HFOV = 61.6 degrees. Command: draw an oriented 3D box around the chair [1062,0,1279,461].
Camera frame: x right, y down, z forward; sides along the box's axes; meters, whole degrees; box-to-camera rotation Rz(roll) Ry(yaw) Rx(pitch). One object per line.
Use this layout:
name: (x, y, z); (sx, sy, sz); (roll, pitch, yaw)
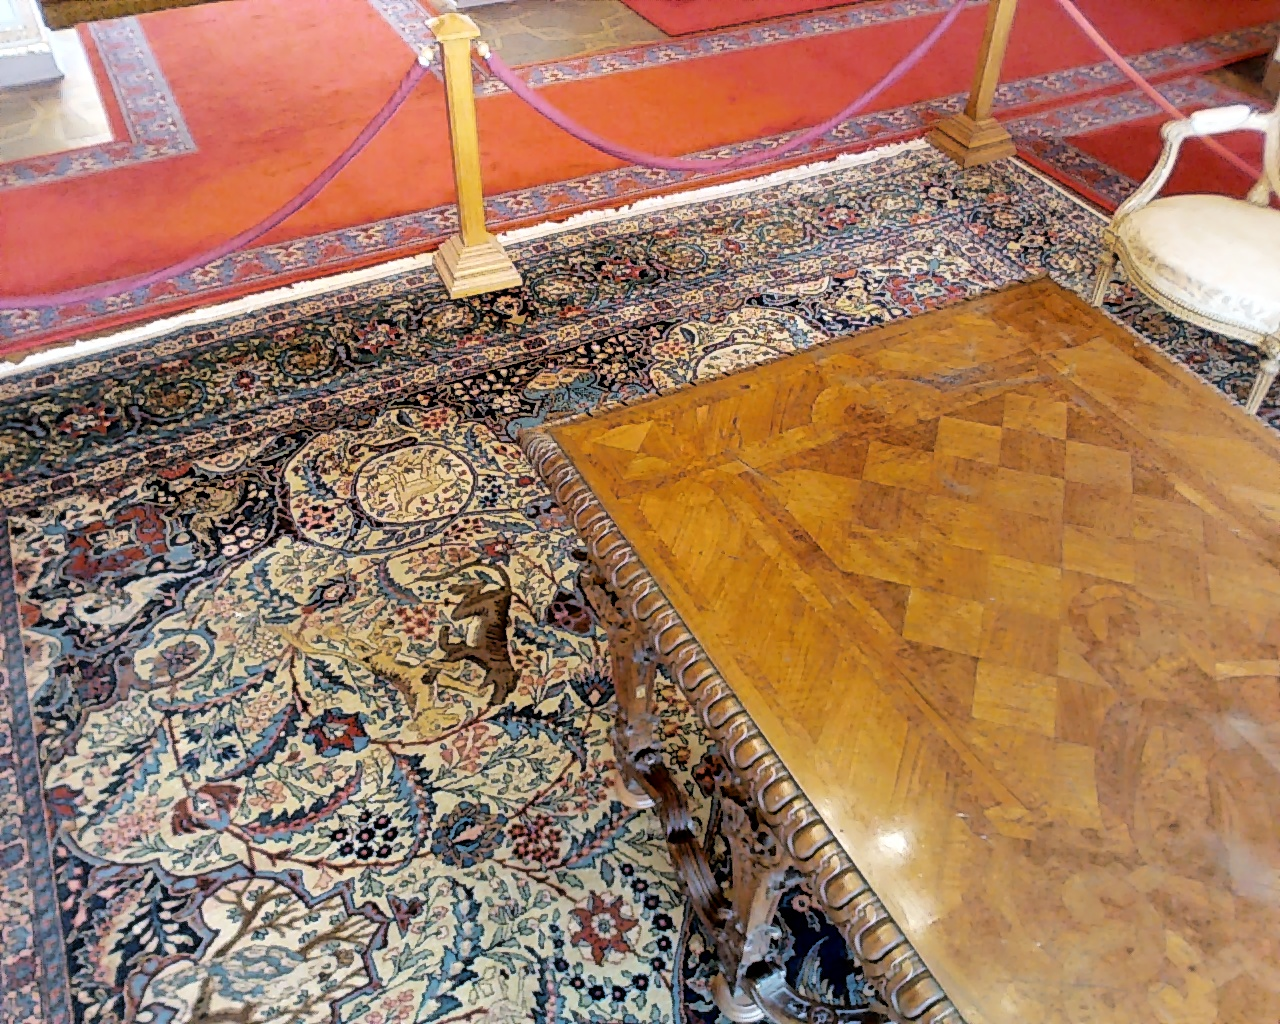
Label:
chair: (1.640, -0.740, 2.700); (0.620, 0.900, 0.610); (-20, 48, -19)
